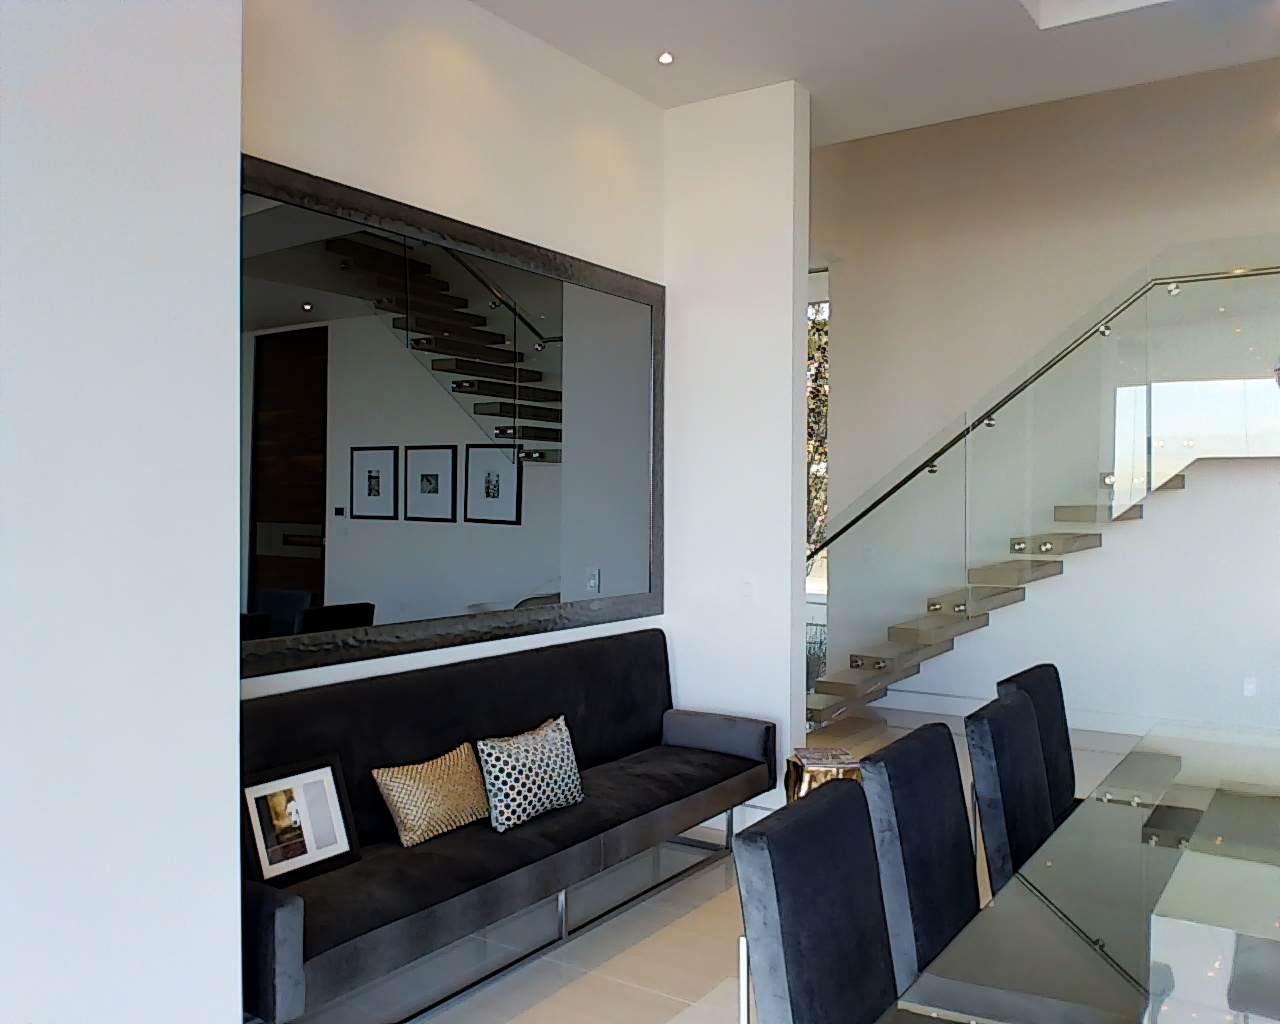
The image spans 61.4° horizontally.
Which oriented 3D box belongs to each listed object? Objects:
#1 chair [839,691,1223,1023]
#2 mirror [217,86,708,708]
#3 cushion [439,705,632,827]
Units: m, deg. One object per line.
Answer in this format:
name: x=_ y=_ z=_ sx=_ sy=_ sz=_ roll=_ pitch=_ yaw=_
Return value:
chair: x=0.940 y=1.000 z=2.520 sx=0.660 sy=0.980 sz=0.810 roll=0 pitch=1 yaw=35
mirror: x=-0.470 y=-0.340 z=4.160 sx=0.230 sy=1.780 sz=2.440 roll=0 pitch=1 yaw=35
cushion: x=-0.360 y=0.890 z=3.860 sx=0.370 sy=0.260 sz=0.630 roll=0 pitch=1 yaw=35
